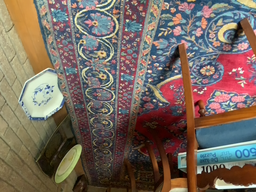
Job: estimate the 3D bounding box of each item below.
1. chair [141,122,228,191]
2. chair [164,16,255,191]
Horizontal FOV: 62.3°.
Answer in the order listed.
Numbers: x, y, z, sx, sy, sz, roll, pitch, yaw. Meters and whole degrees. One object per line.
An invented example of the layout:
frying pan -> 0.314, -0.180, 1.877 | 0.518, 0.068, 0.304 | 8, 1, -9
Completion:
chair -> 0.400, 0.730, 1.660 | 0.540, 0.860, 0.480 | 7, 145, -2
chair -> 0.480, 0.210, 0.910 | 0.450, 0.880, 0.540 | -16, 139, 28
